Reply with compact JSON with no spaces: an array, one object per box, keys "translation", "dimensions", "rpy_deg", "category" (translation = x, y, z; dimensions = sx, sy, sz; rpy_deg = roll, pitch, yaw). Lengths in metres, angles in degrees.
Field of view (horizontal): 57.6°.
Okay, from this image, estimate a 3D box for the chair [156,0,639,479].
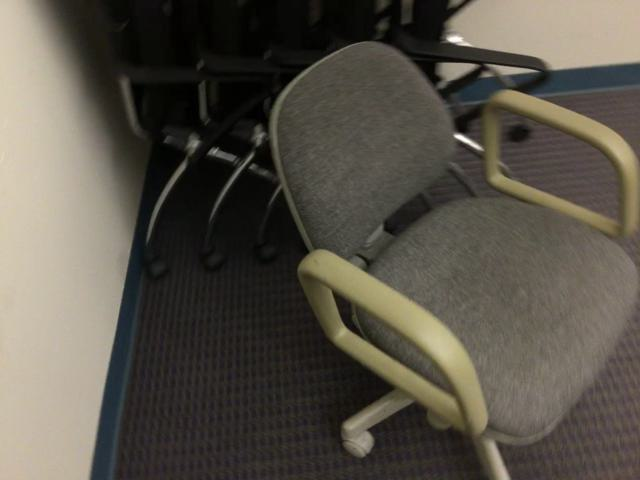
[{"translation":[0.280,0.100,1.090],"dimensions":[0.640,0.790,0.630],"rpy_deg":[24,59,31],"category":"chair"}]
